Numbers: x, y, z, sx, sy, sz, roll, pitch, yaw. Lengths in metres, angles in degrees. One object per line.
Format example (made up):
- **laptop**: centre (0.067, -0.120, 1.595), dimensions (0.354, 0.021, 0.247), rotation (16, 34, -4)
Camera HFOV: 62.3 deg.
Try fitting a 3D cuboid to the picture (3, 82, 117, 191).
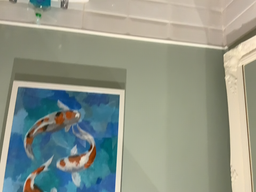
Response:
- **picture**: centre (-0.240, 0.220, 0.800), dimensions (0.380, 0.530, 0.020), rotation (4, 168, -12)
